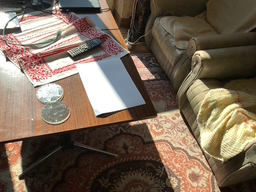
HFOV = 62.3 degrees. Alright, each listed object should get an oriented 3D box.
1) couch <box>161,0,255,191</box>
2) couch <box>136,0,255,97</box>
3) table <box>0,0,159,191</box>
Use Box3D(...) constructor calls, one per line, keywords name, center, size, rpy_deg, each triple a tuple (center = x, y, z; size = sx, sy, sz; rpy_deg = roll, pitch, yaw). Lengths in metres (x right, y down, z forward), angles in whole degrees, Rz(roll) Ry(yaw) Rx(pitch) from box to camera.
Box3D(name="couch", center=(0.830, -0.040, 1.180), size=(0.840, 0.960, 0.790), rpy_deg=(-5, 50, -15))
Box3D(name="couch", center=(0.650, -0.630, 1.670), size=(0.840, 0.940, 0.790), rpy_deg=(-5, 50, -15))
Box3D(name="table", center=(-0.440, -0.160, 1.280), size=(0.710, 0.580, 1.220), rpy_deg=(-8, 51, -18))
